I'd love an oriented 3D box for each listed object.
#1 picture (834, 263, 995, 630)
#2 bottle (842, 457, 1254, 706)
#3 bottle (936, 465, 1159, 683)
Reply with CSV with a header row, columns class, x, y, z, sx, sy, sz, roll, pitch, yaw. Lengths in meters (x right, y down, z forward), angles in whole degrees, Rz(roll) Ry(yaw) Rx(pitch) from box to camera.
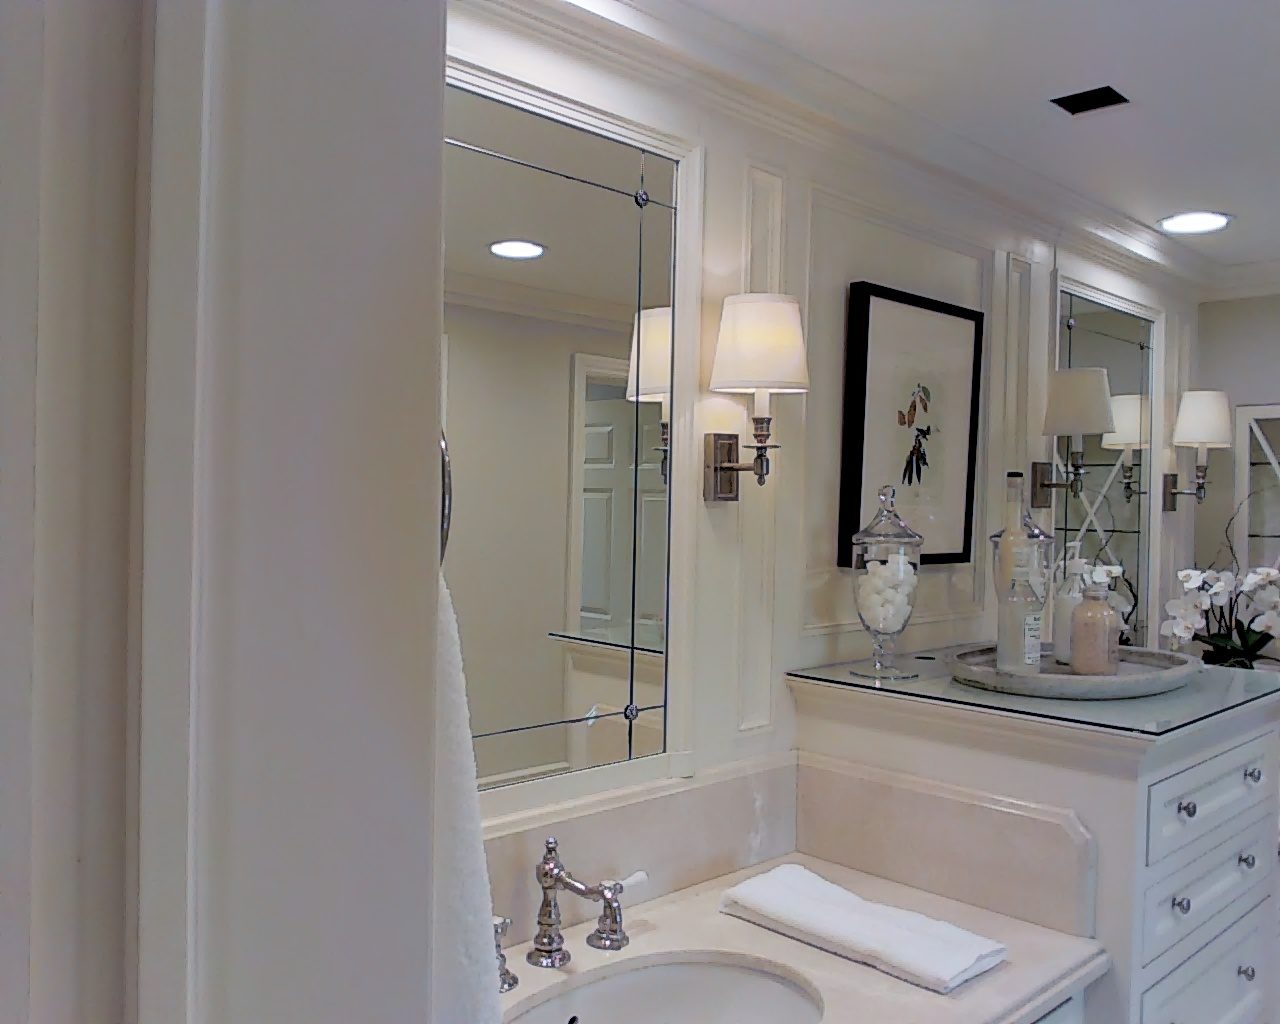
class,x,y,z,sx,sy,sz,roll,pitch,yaw
picture,0.570,-0.120,2.190,0.500,0.680,0.050,0,1,-44
bottle,0.760,0.100,1.990,0.600,0.370,0.500,0,1,-45
bottle,0.750,0.100,1.980,0.310,0.360,0.270,0,1,-44
